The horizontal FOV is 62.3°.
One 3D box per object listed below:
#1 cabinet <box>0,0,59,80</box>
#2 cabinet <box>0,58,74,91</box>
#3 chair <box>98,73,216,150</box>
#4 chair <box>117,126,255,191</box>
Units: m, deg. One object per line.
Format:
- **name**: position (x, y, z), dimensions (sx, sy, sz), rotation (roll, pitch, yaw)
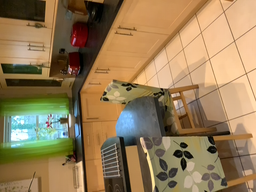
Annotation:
- **cabinet**: position (-1.380, -0.760, 2.680), dimensions (1.800, 0.790, 0.350), rotation (136, 129, -59)
- **cabinet**: position (-1.630, -0.350, 3.760), dimensions (0.520, 1.210, 0.350), rotation (136, 129, -59)
- **chair**: position (0.250, 0.150, 2.040), dimensions (0.450, 0.930, 0.560), rotation (135, 129, -58)
- **chair**: position (0.460, 0.520, 1.600), dimensions (0.500, 0.920, 0.420), rotation (136, 129, -59)
